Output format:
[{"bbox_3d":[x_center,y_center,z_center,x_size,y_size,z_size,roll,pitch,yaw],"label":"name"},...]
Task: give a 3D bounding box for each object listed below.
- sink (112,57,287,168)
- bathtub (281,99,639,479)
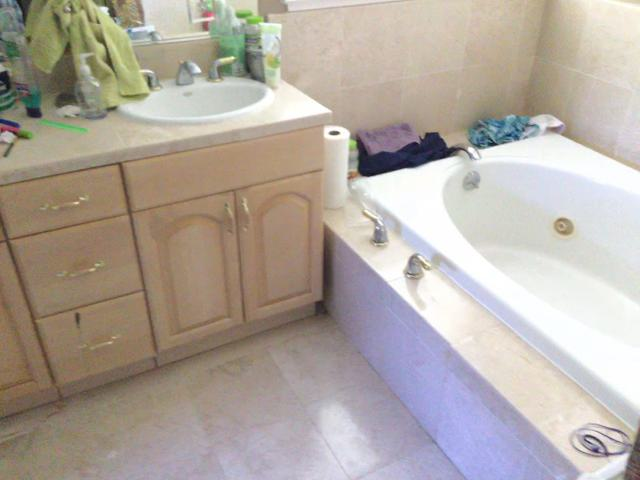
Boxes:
[{"bbox_3d":[-0.390,-0.430,1.860,0.420,0.170,0.420,-16,36,-26],"label":"sink"},{"bbox_3d":[0.890,0.180,1.920,1.330,0.530,2.020,-14,35,-23],"label":"bathtub"}]
